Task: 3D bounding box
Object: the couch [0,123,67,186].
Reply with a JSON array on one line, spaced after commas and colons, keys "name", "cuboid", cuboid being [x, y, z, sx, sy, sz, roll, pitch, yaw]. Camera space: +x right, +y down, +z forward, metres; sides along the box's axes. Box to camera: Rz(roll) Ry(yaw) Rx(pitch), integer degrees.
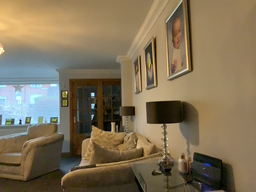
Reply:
[{"name": "couch", "cuboid": [-2.020, 1.040, 4.180, 1.220, 0.950, 0.970, -3, -3, 23]}]
